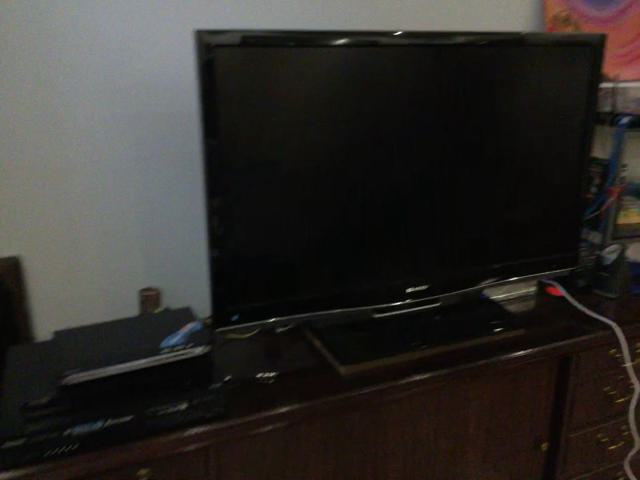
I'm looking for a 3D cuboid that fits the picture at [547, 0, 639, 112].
[{"bbox_3d":[1.020,-0.750,2.090,0.170,0.540,0.330,-7,16,-17],"label":"picture"}]

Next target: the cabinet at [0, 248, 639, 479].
[{"bbox_3d":[0.100,0.590,1.610,1.810,0.770,0.650,-7,16,-17],"label":"cabinet"}]
